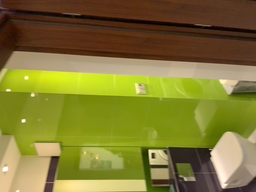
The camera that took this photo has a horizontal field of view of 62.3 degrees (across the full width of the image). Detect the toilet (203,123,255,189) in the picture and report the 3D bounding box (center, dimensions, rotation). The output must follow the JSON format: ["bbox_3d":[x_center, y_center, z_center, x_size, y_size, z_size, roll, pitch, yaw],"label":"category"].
[{"bbox_3d":[1.140,0.610,2.130,0.400,0.480,0.540,-95,11,-46],"label":"toilet"}]
